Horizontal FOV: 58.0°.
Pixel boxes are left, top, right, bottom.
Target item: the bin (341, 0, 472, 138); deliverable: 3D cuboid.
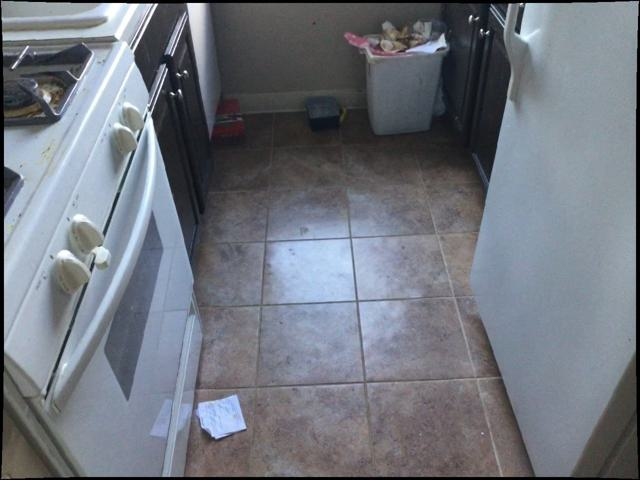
[{"bbox_3d":[0.339,-0.702,2.380,0.459,0.421,0.290,-5,43,1],"label":"bin"}]
